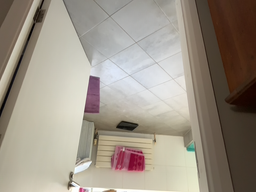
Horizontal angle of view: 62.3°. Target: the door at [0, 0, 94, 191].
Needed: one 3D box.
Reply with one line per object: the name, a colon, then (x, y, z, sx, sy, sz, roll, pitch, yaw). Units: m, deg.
door: (-0.400, 0.350, 1.060, 0.040, 2.030, 0.850, -2, 149, 6)
